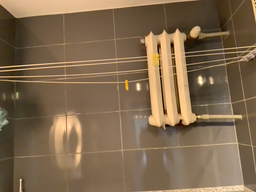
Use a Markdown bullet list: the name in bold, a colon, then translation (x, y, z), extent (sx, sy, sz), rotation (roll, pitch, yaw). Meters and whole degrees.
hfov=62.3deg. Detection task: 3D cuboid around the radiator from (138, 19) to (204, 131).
- **radiator**: translation (0.240, -0.110, 1.290), extent (0.310, 0.620, 0.210), rotation (-4, -9, 4)
